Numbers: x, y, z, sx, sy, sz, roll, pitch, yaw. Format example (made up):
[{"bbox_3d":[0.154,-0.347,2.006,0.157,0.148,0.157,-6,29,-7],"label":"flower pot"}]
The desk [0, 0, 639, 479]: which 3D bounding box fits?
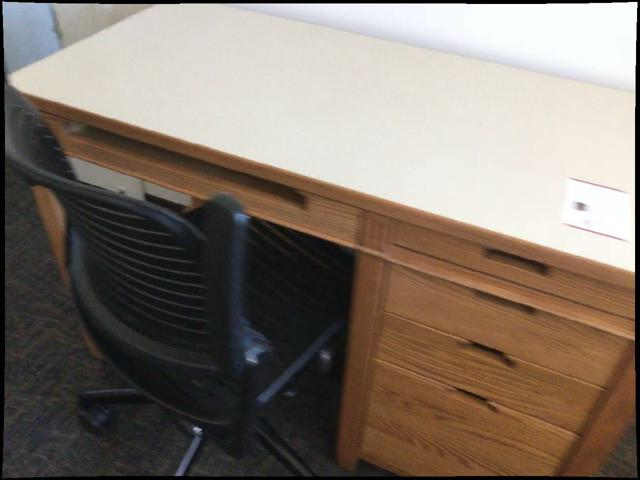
[{"bbox_3d":[0.030,0.040,1.310,1.208,0.771,0.650,17,42,16],"label":"desk"}]
